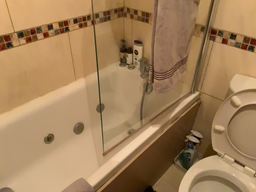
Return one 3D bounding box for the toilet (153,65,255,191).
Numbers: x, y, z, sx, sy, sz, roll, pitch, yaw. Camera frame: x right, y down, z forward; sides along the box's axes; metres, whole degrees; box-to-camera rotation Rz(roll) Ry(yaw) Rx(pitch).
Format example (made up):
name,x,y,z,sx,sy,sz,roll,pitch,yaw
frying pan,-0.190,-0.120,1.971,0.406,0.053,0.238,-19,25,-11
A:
name,x,y,z,sx,sy,sz,roll,pitch,yaw
toilet,0.500,0.390,1.040,0.440,0.800,0.670,28,44,33
